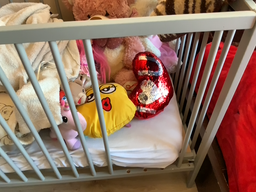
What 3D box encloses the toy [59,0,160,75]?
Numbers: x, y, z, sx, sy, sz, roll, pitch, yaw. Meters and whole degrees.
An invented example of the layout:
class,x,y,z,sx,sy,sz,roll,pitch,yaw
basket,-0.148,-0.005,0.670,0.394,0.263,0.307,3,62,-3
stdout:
class,x,y,z,sx,sy,sz,roll,pitch,yaw
toy,-0.070,-0.350,0.930,0.360,0.420,0.260,-4,46,-2
